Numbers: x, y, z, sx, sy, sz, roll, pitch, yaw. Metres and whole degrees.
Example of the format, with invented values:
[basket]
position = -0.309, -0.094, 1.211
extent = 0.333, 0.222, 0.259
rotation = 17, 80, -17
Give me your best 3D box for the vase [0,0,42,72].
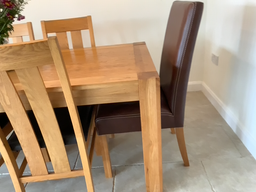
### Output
[vase]
position = -0.750, -0.380, 1.260
extent = 0.340, 0.430, 0.130
rotation = -16, 27, -21
